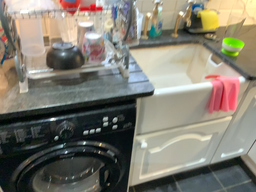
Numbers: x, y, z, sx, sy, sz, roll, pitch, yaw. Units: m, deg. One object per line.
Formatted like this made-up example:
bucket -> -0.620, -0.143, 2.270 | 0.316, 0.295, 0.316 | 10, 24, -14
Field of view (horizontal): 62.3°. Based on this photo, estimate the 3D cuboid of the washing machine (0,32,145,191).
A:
washing machine -> -0.370, 0.210, 1.240 | 0.620, 0.900, 0.680 | -8, 41, -17
